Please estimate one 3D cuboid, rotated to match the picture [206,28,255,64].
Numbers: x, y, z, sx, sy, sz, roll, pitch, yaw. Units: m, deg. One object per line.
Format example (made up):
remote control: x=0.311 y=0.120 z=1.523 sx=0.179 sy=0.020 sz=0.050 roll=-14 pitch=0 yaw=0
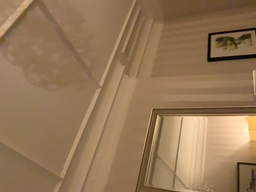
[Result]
picture: x=1.470 y=-0.710 z=3.000 sx=0.020 sy=0.670 sz=0.640 roll=62 pitch=-144 yaw=-46
